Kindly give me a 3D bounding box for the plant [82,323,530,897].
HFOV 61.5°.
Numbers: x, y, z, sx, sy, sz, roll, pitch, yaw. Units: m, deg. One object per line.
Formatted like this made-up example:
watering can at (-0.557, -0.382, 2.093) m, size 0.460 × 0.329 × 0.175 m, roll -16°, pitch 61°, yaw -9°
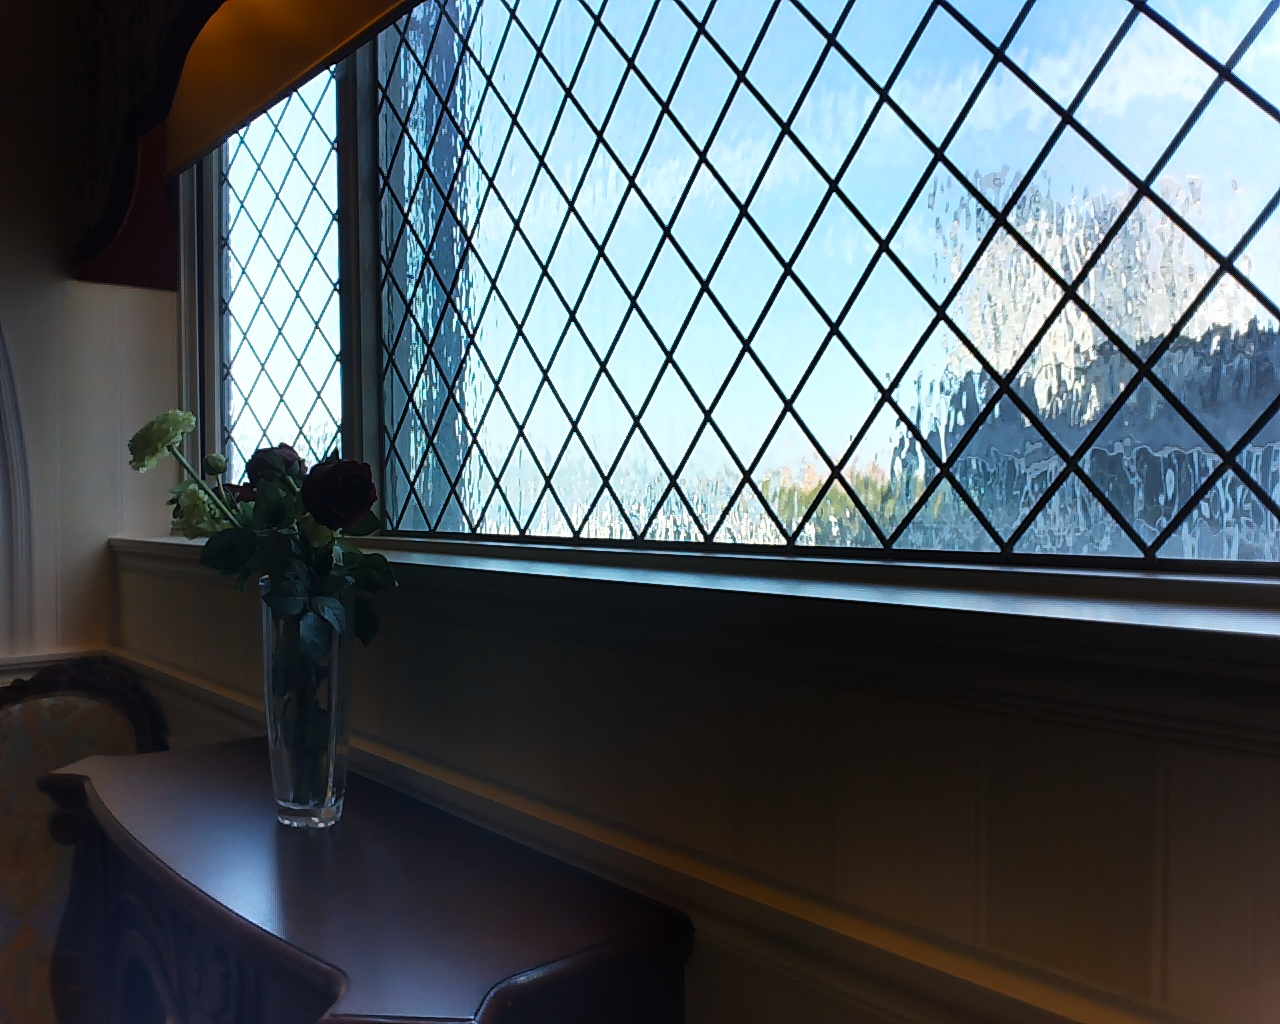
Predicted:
plant at (-0.420, 0.090, 1.320) m, size 0.370 × 0.550 × 0.450 m, roll -2°, pitch 1°, yaw -40°
